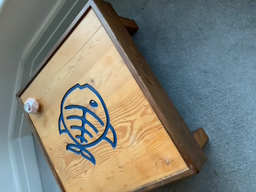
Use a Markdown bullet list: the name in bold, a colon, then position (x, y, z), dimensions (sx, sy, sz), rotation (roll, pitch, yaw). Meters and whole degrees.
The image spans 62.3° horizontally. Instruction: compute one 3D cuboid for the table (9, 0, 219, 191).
- **table**: position (-0.150, 0.110, 1.160), dimensions (0.830, 0.340, 0.850), rotation (-36, 78, 31)
